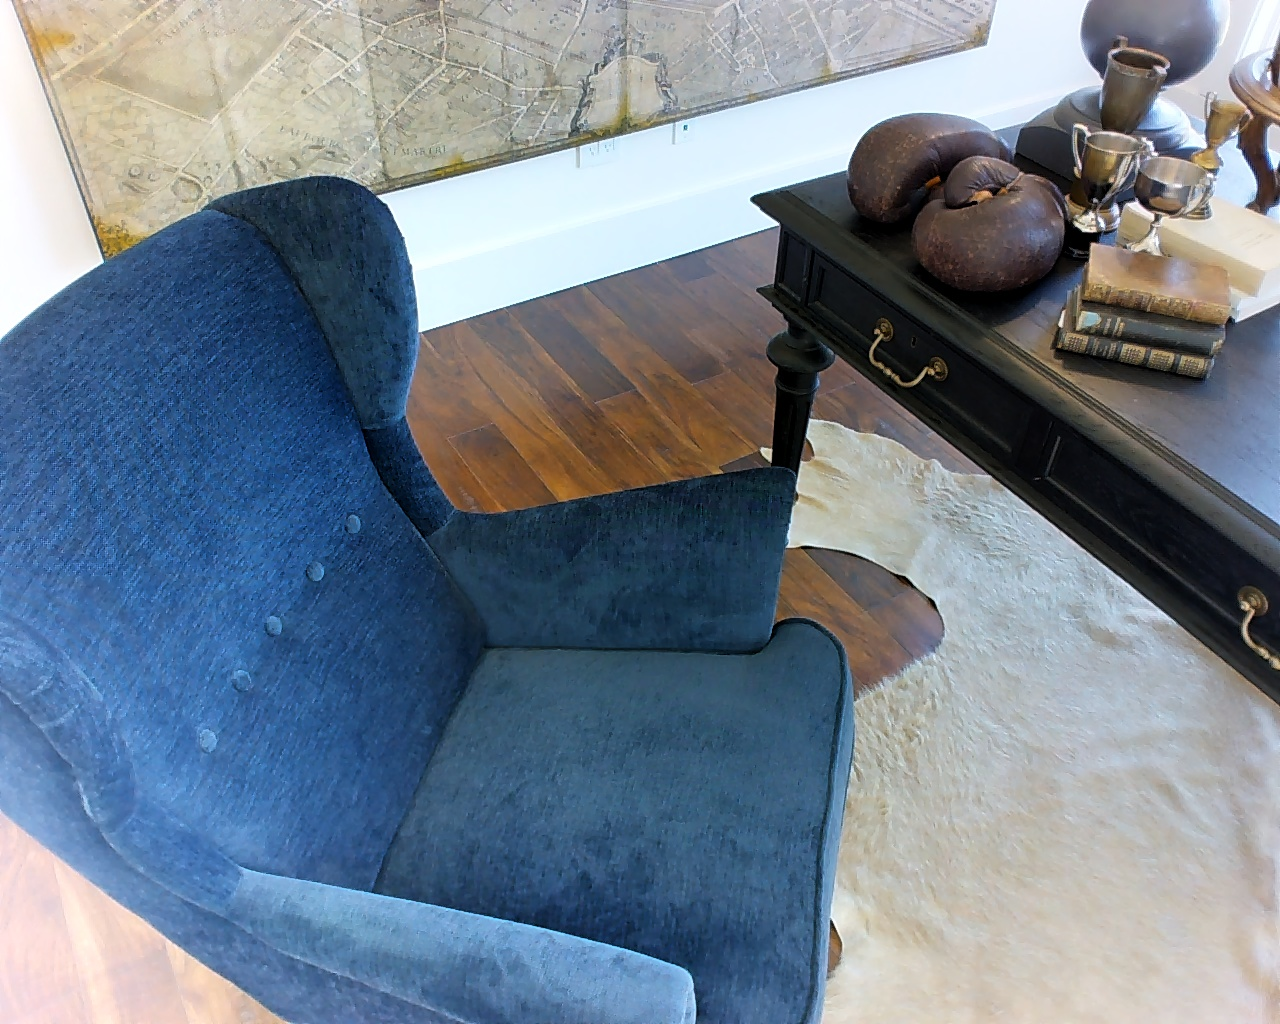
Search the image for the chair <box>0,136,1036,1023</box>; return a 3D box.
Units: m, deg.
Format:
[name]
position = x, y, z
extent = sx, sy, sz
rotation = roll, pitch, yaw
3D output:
[chair]
position = -0.190, 0.240, 1.310
extent = 1.030, 0.970, 0.840
rotation = 10, 43, 9
